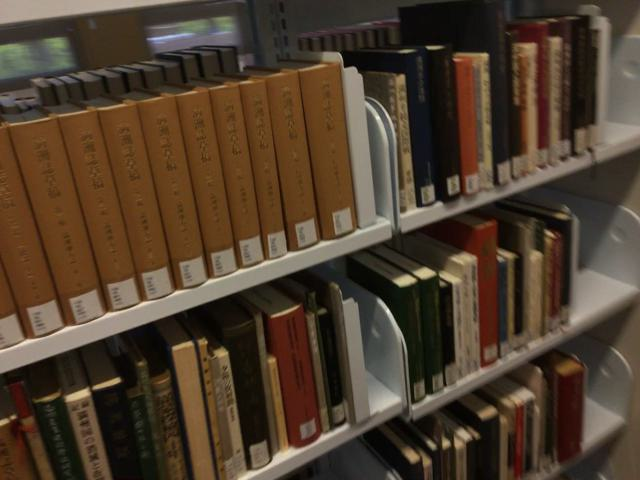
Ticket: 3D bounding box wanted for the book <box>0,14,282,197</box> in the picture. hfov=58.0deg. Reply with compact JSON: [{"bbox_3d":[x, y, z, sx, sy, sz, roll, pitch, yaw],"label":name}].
[{"bbox_3d":[-0.370,-0.250,1.020,0.570,0.230,0.170,-17,23,-28],"label":"book"}]
